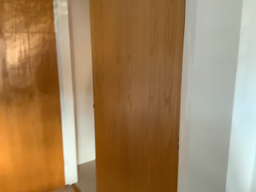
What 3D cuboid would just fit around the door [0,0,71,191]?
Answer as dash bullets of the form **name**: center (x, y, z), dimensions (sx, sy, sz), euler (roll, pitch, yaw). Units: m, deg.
- **door**: center (-1.000, 0.060, 1.860), dimensions (0.850, 2.060, 0.080), euler (-7, 13, -30)
